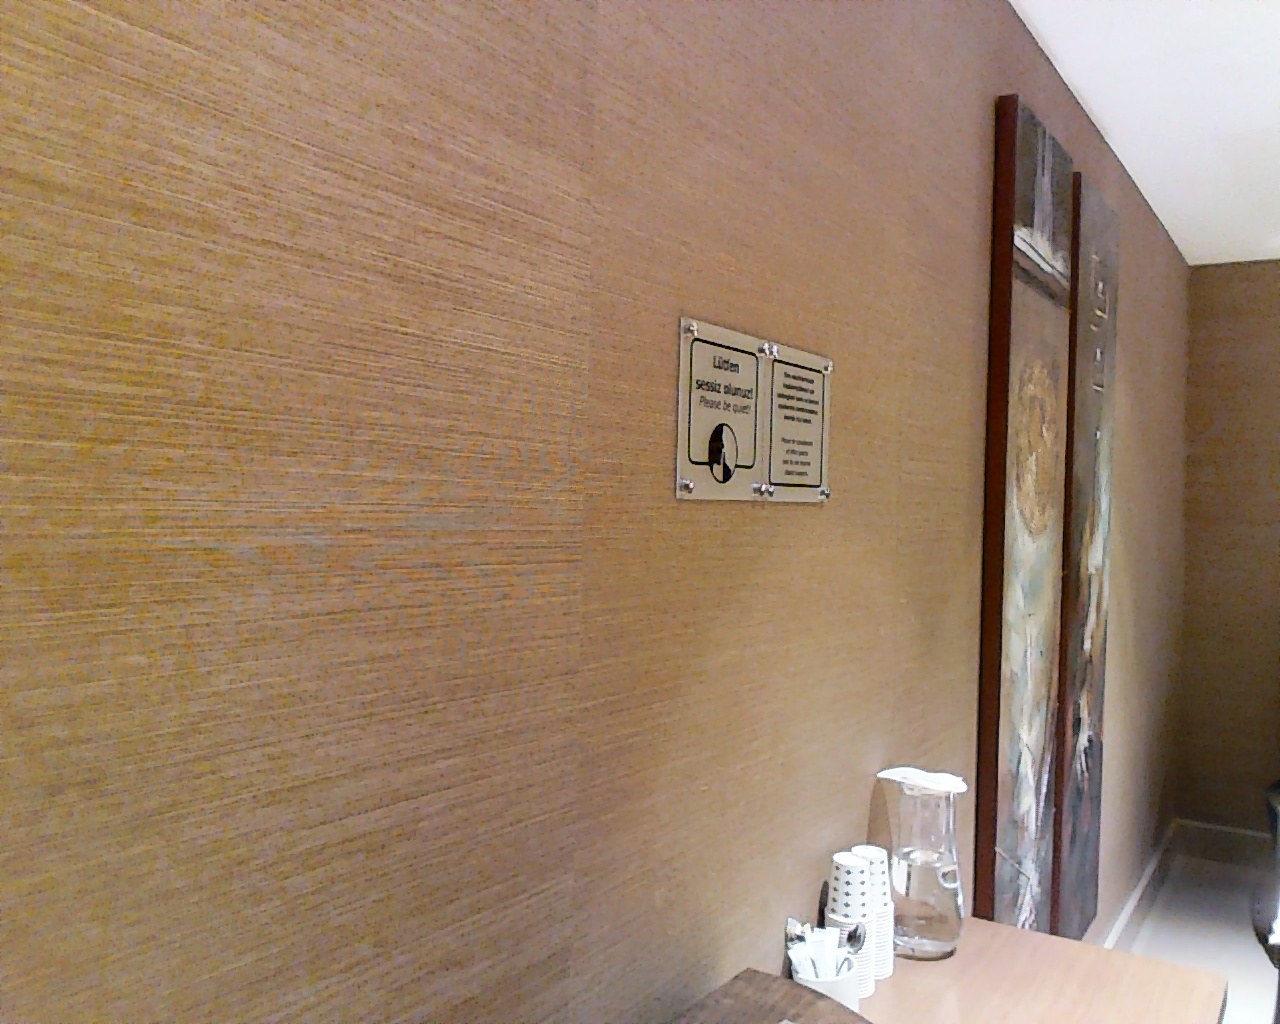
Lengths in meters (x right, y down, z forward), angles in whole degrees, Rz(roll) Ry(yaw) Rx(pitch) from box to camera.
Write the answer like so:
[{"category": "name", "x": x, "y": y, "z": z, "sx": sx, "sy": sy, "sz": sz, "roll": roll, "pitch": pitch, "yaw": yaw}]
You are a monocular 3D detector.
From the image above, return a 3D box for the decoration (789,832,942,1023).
[{"category": "decoration", "x": 0.330, "y": 0.600, "z": 1.540, "sx": 0.090, "sy": 0.190, "sz": 0.330, "roll": 1, "pitch": 0, "yaw": 34}]
